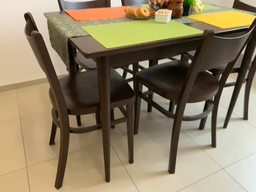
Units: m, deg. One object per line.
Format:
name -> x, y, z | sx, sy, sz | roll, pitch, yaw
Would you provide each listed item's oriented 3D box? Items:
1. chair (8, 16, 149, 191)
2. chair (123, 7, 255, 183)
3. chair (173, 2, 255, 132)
chair -> -0.220, 0.040, 1.080 | 0.480, 0.760, 0.370 | -10, 34, -17
chair -> 0.290, -0.030, 1.200 | 0.420, 0.780, 0.480 | -21, 38, -31
chair -> 0.660, -0.210, 1.510 | 0.420, 0.780, 0.390 | -10, 34, -18
